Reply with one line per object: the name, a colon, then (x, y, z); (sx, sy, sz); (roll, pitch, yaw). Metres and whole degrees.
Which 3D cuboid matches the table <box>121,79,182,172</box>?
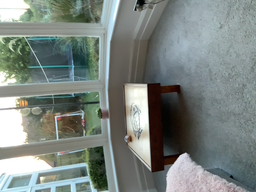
table: (0.210, 0.240, 2.310); (0.820, 0.340, 0.820); (-168, 74, -73)
